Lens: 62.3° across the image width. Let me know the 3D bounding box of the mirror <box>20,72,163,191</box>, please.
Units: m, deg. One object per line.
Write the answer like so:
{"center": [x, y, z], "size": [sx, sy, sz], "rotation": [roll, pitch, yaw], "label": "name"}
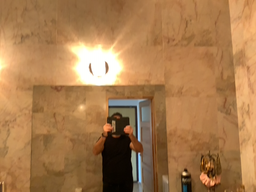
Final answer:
{"center": [-0.190, 0.240, 1.200], "size": [0.740, 0.730, 0.130], "rotation": [-1, -6, -8], "label": "mirror"}
